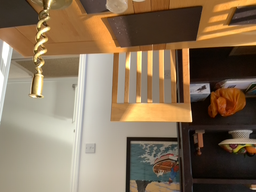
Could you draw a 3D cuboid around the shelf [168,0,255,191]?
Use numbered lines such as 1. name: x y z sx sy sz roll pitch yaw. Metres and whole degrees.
1. shelf: 0.820 0.130 1.640 0.920 1.790 0.400 -2 165 8
